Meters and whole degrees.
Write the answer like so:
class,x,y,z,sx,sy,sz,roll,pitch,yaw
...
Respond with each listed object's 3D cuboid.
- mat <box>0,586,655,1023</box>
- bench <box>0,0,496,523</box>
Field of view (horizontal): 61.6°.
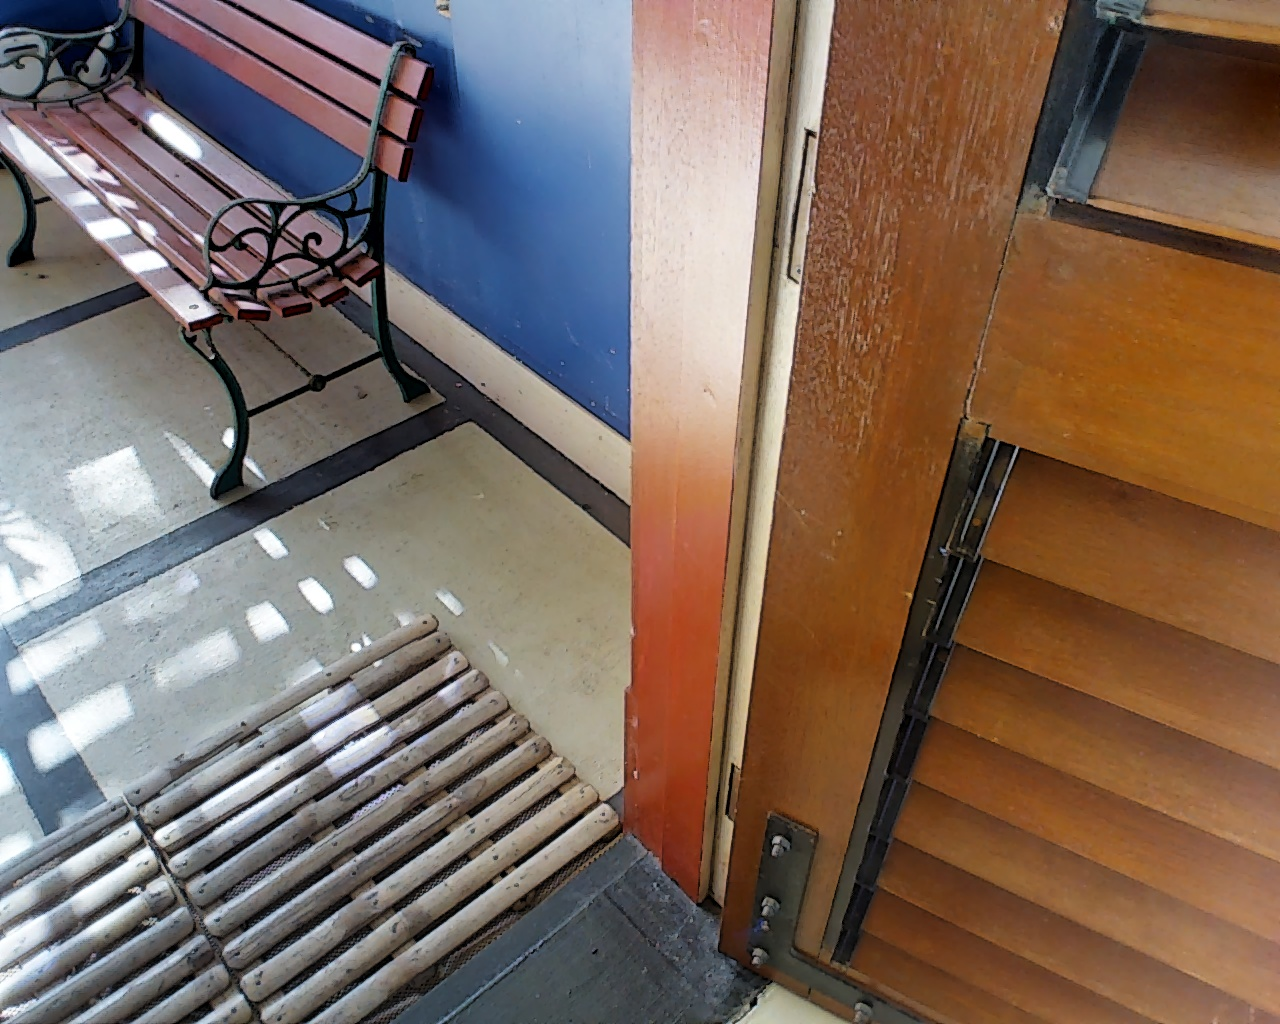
class,x,y,z,sx,sy,sz,roll,pitch,yaw
mat,-0.580,0.540,1.390,1.100,0.060,0.570,-31,52,-29
bench,-0.960,-0.700,2.250,0.570,0.680,1.340,-31,52,-29
